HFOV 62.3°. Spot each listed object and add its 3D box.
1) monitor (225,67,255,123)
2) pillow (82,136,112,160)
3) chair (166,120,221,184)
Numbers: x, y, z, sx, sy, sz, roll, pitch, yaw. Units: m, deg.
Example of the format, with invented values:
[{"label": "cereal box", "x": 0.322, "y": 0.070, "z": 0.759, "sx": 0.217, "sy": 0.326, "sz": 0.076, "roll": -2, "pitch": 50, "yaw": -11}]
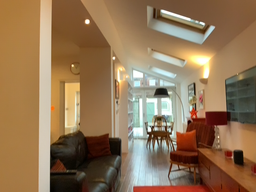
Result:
[{"label": "monitor", "x": 1.300, "y": 0.010, "z": 2.450, "sx": 0.050, "sy": 0.540, "sz": 0.860, "roll": -1, "pitch": -3, "yaw": 6}, {"label": "pillow", "x": -0.500, "y": 0.850, "z": 3.460, "sx": 0.440, "sy": 0.360, "sz": 0.130, "roll": -1, "pitch": 16, "yaw": 5}, {"label": "chair", "x": 1.170, "y": 0.930, "z": 3.810, "sx": 0.720, "sy": 0.940, "sz": 0.630, "roll": 2, "pitch": -4, "yaw": -42}]
